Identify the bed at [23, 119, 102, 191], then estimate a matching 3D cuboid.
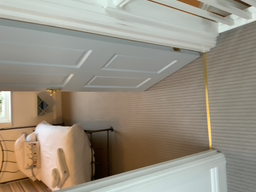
[{"bbox_3d":[-1.230,0.960,3.570,2.100,0.610,1.040,-6,86,54],"label":"bed"}]
